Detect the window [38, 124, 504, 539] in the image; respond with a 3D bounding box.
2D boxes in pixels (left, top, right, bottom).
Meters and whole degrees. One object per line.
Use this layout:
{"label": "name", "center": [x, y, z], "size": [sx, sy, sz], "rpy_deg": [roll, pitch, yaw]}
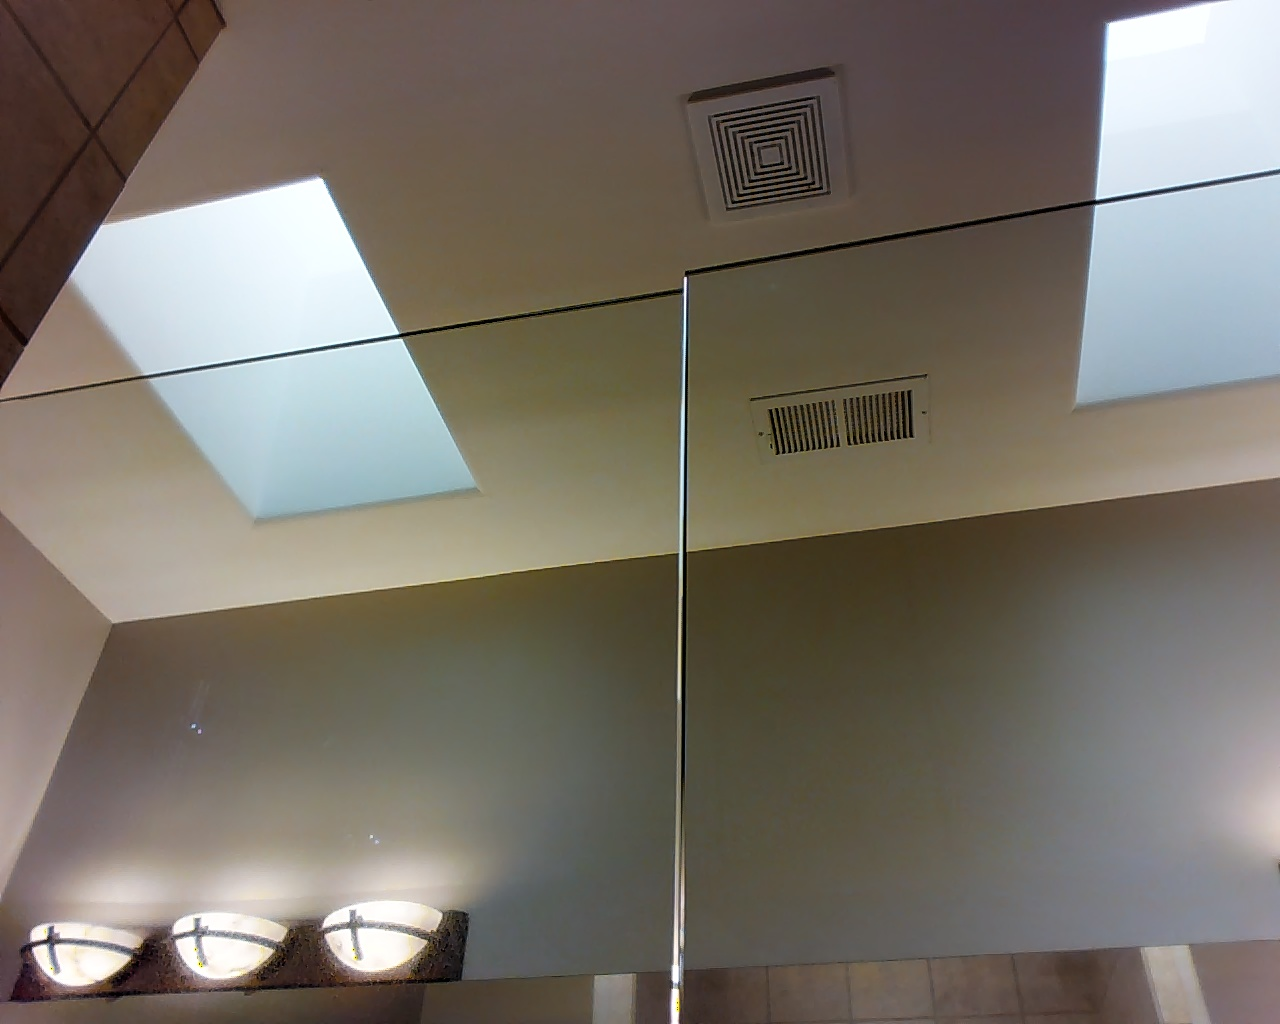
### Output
{"label": "window", "center": [-0.700, -0.330, 2.230], "size": [0.590, 0.290, 0.770], "rpy_deg": [-7, -42, 11]}
